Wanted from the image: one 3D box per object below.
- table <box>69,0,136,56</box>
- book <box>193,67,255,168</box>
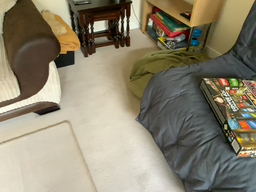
[{"bbox_3d":[-0.250,-0.730,2.100,0.510,0.420,0.370,-18,47,-21],"label":"table"},{"bbox_3d":[0.500,0.050,0.880,0.320,0.060,0.490,-1,43,-4],"label":"book"}]
